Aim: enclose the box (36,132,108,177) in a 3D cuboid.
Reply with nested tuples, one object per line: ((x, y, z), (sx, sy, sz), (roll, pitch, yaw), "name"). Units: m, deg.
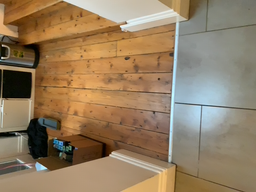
((-0.480, 0.470, 1.820), (0.460, 0.400, 0.230), (0, 89, 41), "box")
